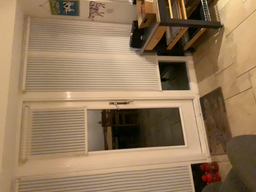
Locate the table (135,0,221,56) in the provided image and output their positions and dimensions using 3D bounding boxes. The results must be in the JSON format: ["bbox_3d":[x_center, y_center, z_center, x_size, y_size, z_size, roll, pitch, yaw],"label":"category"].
[{"bbox_3d":[0.590,-0.930,2.750,0.720,0.790,0.500,131,137,-69],"label":"table"}]
